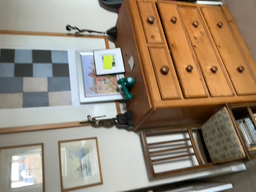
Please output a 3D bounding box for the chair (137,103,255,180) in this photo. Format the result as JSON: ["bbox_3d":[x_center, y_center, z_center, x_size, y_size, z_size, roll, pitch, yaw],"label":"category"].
[{"bbox_3d":[0.600,0.330,1.560,0.480,0.900,0.360,123,140,-58],"label":"chair"}]
